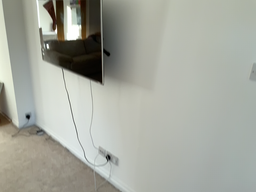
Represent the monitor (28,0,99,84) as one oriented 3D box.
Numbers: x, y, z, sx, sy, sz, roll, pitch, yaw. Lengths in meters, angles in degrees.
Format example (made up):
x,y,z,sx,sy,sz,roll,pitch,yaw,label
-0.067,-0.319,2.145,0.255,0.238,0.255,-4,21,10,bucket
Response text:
x,y,z,sx,sy,sz,roll,pitch,yaw,label
-0.640,-0.550,1.940,0.040,0.620,1.140,-15,27,-43,monitor
